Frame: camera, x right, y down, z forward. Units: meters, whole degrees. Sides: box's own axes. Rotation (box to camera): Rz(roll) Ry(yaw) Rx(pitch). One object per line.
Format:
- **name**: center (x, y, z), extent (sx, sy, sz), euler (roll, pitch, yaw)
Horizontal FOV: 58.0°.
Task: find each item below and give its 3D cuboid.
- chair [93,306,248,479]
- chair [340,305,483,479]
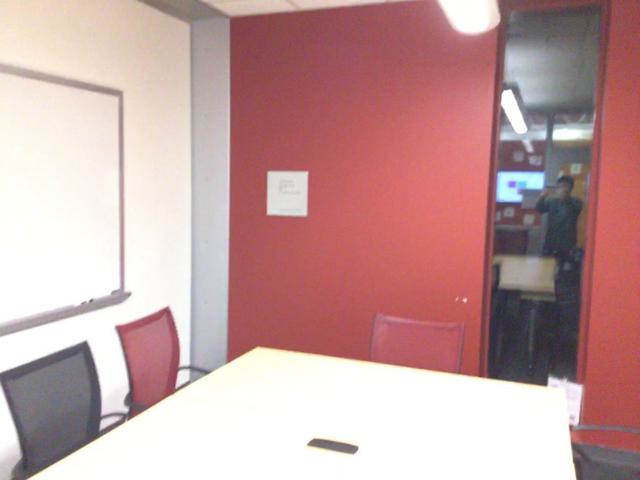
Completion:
- **chair**: center (-0.660, 0.810, 2.610), extent (0.460, 0.900, 0.500), euler (4, 6, 22)
- **chair**: center (0.440, 0.800, 2.730), extent (0.540, 0.850, 0.490), euler (4, 6, 22)
